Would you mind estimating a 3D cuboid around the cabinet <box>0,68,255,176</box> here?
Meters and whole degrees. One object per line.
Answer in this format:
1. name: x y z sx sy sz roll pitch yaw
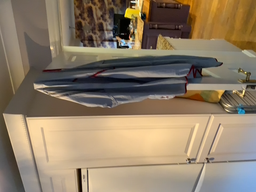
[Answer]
1. cabinet: 0.280 0.160 1.820 0.640 2.240 0.560 -104 16 -57
